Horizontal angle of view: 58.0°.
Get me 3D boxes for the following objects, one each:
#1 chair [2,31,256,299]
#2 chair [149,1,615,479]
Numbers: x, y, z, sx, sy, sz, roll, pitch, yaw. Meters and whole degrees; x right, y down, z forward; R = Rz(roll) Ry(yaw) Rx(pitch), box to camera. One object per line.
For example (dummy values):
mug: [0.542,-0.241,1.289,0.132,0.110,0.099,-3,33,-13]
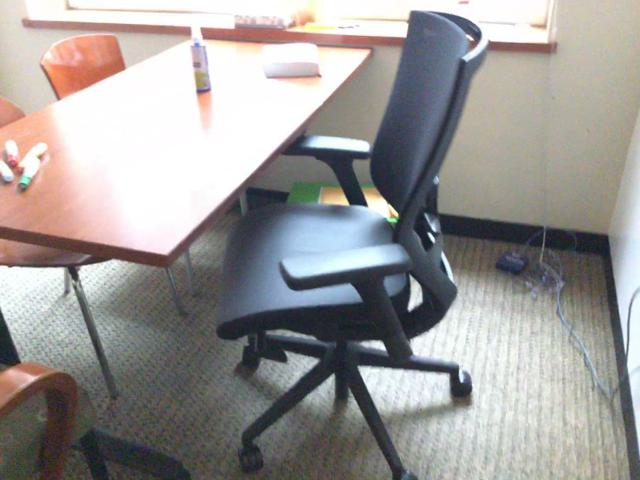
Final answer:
chair: [-0.650,-0.310,2.190,0.580,0.800,0.550,10,31,18]
chair: [0.050,0.030,1.430,0.730,1.040,0.700,-9,31,-14]
